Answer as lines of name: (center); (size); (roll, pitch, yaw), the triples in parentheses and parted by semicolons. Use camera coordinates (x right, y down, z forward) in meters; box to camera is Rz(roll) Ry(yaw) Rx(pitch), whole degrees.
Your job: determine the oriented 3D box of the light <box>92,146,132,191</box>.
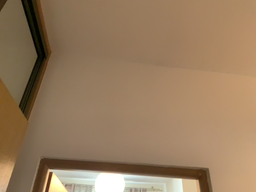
light: (-0.220, 1.060, 2.940); (0.450, 0.410, 0.570); (9, -124, -9)
